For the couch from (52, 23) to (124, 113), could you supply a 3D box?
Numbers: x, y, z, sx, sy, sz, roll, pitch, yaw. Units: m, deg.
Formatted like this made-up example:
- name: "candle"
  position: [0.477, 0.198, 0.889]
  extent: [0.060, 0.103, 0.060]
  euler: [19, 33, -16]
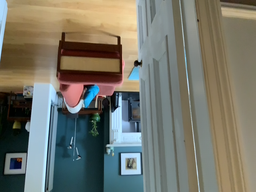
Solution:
- name: "couch"
  position: [-0.580, -0.270, 3.170]
  extent: [0.780, 0.770, 1.540]
  euler: [2, 165, -10]
